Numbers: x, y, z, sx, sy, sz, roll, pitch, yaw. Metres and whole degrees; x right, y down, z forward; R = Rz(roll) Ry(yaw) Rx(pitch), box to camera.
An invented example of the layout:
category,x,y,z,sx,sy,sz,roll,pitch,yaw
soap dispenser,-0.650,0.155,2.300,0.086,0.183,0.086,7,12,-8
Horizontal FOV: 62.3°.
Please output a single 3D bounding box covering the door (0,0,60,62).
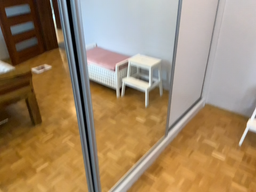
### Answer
category,x,y,z,sx,sy,sz,roll,pitch,yaw
door,-1.860,-1.700,3.790,0.470,1.970,0.800,25,39,36
